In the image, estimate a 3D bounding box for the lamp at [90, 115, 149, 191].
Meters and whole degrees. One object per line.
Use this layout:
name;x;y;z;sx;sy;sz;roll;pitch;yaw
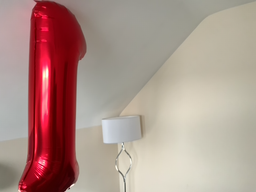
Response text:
lamp;-0.060;0.960;2.090;0.400;1.520;0.380;-4;-3;36
